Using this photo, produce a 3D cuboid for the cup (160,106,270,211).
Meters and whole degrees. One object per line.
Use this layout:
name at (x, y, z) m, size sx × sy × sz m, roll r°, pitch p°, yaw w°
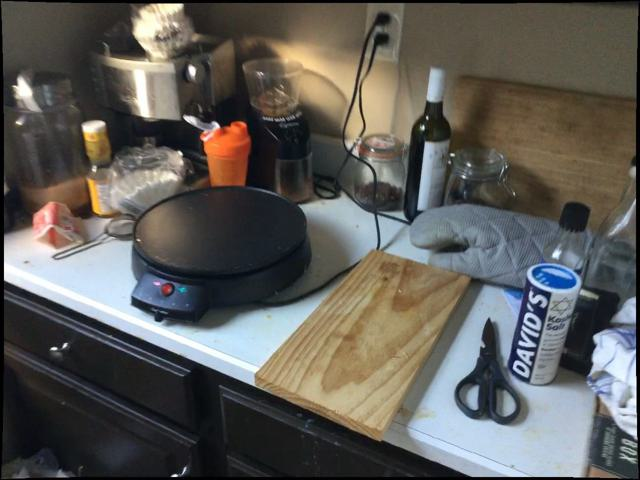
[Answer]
cup at (-0.209, -0.170, 1.180) m, size 0.170 × 0.140 × 0.130 m, roll 19°, pitch 36°, yaw 24°
